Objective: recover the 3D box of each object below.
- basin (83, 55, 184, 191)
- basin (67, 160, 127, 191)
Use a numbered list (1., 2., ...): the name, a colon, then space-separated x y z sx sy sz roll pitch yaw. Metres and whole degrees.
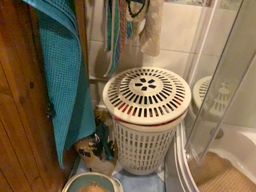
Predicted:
1. basin: 0.040 0.170 1.310 0.450 0.640 0.450 10 41 6
2. basin: -0.200 0.610 1.150 0.290 0.130 0.460 11 41 7
